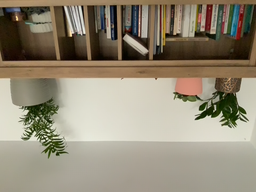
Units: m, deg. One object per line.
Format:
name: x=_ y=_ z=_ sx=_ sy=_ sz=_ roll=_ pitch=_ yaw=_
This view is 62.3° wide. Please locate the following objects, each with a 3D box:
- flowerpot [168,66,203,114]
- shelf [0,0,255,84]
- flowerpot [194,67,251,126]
flowerpot: x=0.330 y=-0.040 z=1.250 sx=0.150 sy=0.230 sz=0.170 roll=2 pitch=-157 yaw=4
shelf: x=0.030 y=-0.330 z=1.140 sx=1.290 sy=0.430 sz=0.350 roll=1 pitch=-157 yaw=2
flowerpot: x=0.560 y=0.000 z=1.300 sx=0.220 sy=0.310 sz=0.190 roll=1 pitch=-157 yaw=2
